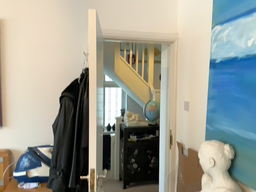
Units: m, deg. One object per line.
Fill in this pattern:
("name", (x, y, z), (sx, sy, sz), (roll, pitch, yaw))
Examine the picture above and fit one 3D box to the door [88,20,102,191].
("door", (-0.240, 0.520, 1.610), (0.070, 1.940, 0.730), (0, 4, -6))
